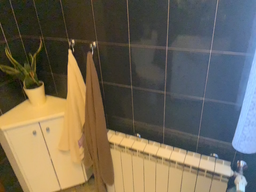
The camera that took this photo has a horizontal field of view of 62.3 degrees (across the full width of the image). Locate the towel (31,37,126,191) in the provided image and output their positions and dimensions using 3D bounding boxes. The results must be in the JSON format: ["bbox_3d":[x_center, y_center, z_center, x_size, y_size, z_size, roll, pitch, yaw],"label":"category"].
[{"bbox_3d":[-0.270,0.270,1.460,0.390,1.270,0.200,11,33,23],"label":"towel"}]

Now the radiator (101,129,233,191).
[{"bbox_3d":[0.210,0.610,1.420,0.780,0.630,0.130,13,34,26],"label":"radiator"}]

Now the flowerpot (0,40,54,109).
[{"bbox_3d":[-0.680,-0.150,1.440,0.250,0.390,0.180,-13,32,-16],"label":"flowerpot"}]
